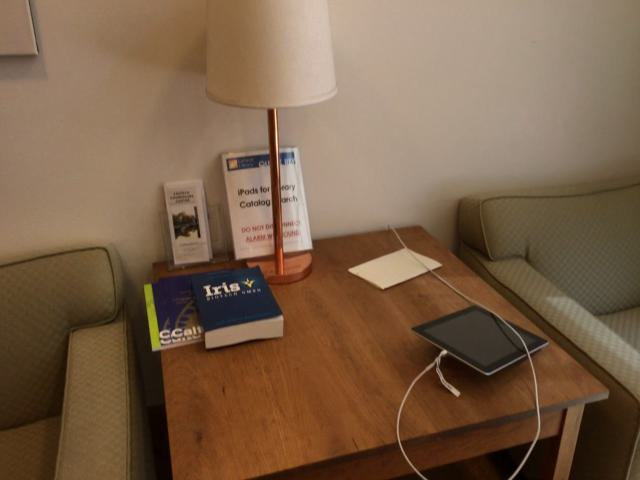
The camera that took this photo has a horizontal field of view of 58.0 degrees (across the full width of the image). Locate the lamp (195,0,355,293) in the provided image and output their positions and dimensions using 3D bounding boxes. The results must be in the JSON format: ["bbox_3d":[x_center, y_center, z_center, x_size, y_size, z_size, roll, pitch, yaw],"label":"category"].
[{"bbox_3d":[-0.110,-0.260,1.370,0.300,0.690,0.270,-6,23,-15],"label":"lamp"}]
